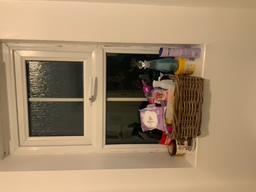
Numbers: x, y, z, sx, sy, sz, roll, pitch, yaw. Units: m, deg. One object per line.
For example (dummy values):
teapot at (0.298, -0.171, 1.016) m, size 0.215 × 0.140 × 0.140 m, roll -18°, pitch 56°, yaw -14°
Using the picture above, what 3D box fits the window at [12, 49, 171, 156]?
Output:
window at (-0.200, 0.040, 1.290) m, size 0.110 × 0.880 × 0.610 m, roll -124°, pitch 34°, yaw -79°
